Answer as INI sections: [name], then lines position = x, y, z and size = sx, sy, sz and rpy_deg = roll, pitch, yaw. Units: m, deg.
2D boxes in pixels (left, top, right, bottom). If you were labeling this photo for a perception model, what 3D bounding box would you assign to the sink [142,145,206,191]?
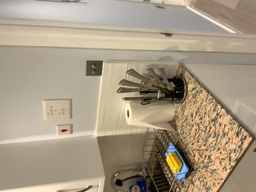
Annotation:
[sink]
position = 0.320, 0.690, 1.570
size = 0.460, 0.230, 0.400
rpy_deg = -115, 29, -50
